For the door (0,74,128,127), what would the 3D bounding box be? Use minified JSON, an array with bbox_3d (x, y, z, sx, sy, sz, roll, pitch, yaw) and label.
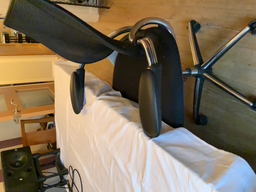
[{"bbox_3d":[-1.030,0.020,2.040,0.860,1.900,0.130,29,121,51],"label":"door"}]
